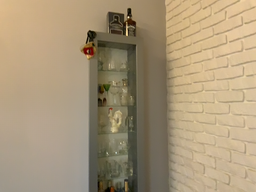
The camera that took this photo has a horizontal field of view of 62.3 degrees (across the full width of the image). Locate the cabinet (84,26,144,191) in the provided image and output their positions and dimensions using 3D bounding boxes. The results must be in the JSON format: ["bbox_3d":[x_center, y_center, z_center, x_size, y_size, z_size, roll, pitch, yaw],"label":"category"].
[{"bbox_3d":[-0.110,0.380,1.590,0.400,1.700,0.200,0,-2,-25],"label":"cabinet"}]
